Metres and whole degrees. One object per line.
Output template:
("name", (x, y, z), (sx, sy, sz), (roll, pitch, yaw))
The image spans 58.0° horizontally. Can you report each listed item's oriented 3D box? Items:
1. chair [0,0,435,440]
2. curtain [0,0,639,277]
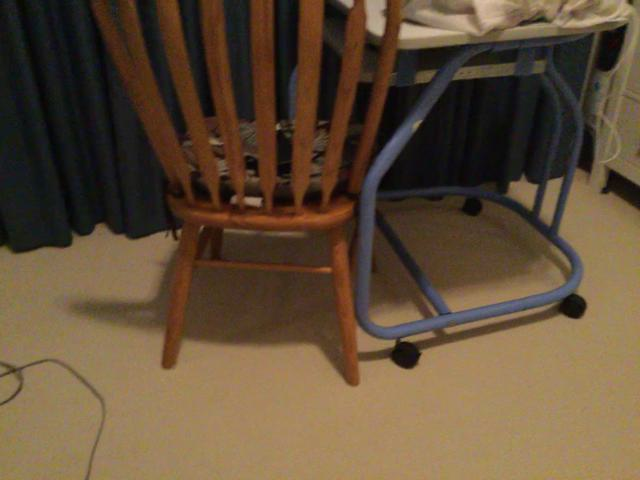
("chair", (-0.120, -0.210, 1.280), (0.600, 0.960, 0.660), (9, 33, 16))
("curtain", (-0.030, -0.920, 1.560), (2.200, 1.910, 0.320), (-8, 32, -11))
